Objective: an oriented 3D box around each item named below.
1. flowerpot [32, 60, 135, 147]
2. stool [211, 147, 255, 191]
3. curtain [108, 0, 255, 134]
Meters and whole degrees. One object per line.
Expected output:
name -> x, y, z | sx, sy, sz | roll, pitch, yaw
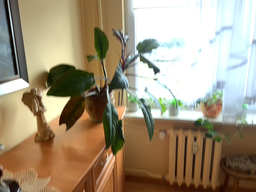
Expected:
flowerpot -> -0.230, -0.020, 1.520 | 0.390, 0.370, 0.800 | 3, 17, 14
stool -> 1.070, 0.800, 1.920 | 0.530, 0.500, 0.320 | 3, 17, 15
curtain -> 0.800, -0.490, 1.720 | 1.840, 1.500, 0.440 | 3, 16, 13
